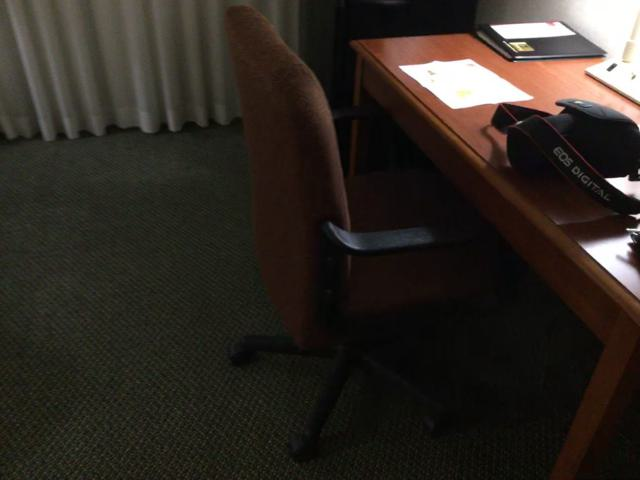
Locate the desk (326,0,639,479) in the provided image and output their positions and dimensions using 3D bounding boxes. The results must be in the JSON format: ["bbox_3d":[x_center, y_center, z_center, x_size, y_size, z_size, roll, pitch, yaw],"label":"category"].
[{"bbox_3d":[0.550,0.000,1.450,0.680,0.850,1.250,-8,38,-15],"label":"desk"}]

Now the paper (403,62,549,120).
[{"bbox_3d":[0.360,-0.360,1.370,0.230,0.020,0.280,-8,38,-15],"label":"paper"}]

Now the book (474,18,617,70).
[{"bbox_3d":[0.620,-0.550,1.610,0.290,0.060,0.230,-8,38,-15],"label":"book"}]
